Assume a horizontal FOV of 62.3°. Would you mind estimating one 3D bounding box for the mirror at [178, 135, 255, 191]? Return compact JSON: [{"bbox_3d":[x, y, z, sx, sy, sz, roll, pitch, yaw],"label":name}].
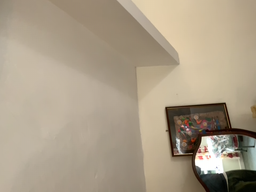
[{"bbox_3d":[0.610,0.490,1.290,0.190,0.510,0.450,83,-177,-70],"label":"mirror"}]
